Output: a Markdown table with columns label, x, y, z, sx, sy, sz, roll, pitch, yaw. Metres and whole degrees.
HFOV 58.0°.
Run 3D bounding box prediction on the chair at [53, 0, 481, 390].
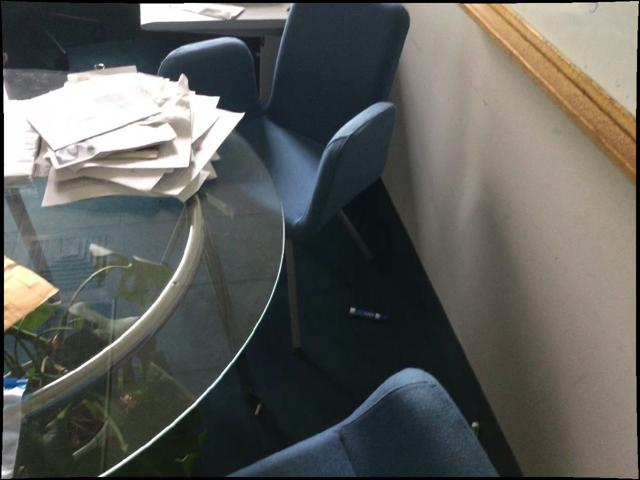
| label | x | y | z | sx | sy | sz | roll | pitch | yaw |
| --- | --- | --- | --- | --- | --- | --- | --- | --- | --- |
| chair | -0.120 | -0.241 | 1.610 | 0.699 | 0.811 | 0.710 | 28 | 47 | 23 |

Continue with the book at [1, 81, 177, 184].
| label | x | y | z | sx | sy | sz | roll | pitch | yaw |
| --- | --- | --- | --- | --- | --- | --- | --- | --- | --- |
| book | -0.429 | -0.211 | 1.080 | 0.250 | 0.040 | 0.190 | -27 | 51 | -30 |
